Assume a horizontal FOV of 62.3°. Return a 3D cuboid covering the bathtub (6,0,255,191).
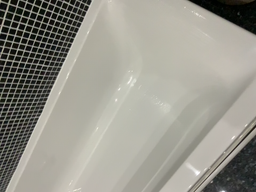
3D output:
[{"bbox_3d":[-0.090,0.370,1.120,0.720,0.510,1.670,43,113,28],"label":"bathtub"}]
